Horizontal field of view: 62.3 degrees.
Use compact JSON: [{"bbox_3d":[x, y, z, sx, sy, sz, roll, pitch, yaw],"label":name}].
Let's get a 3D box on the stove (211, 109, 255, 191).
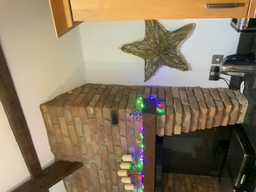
[{"bbox_3d":[0.990,0.740,2.030,0.670,0.080,1.030,-74,-15,-57],"label":"stove"}]
